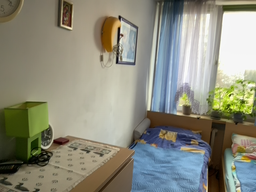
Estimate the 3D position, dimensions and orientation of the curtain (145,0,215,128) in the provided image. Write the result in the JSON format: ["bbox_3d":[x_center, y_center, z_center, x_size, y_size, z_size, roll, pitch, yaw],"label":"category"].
[{"bbox_3d":[0.750,-0.500,3.160,0.810,1.850,0.160,7,9,18],"label":"curtain"}]
